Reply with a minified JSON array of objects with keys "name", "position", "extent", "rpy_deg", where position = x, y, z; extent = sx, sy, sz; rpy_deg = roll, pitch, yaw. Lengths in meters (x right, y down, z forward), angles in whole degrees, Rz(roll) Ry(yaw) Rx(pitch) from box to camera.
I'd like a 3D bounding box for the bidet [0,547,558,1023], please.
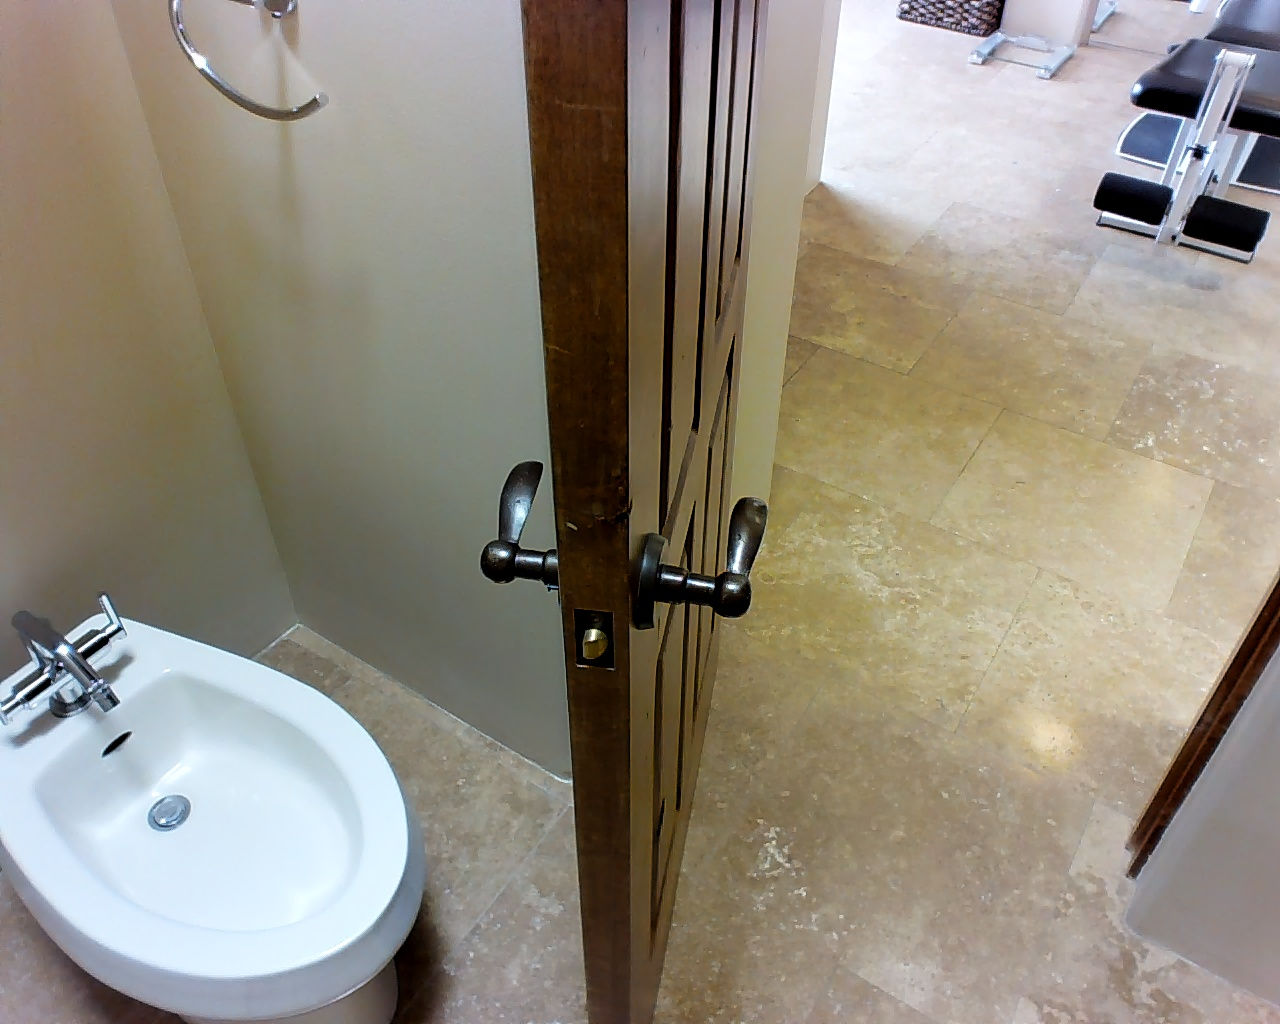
[{"name":"bidet","position":[-0.530,0.450,1.370],"extent":[0.710,0.410,0.430],"rpy_deg":[23,47,23]}]
